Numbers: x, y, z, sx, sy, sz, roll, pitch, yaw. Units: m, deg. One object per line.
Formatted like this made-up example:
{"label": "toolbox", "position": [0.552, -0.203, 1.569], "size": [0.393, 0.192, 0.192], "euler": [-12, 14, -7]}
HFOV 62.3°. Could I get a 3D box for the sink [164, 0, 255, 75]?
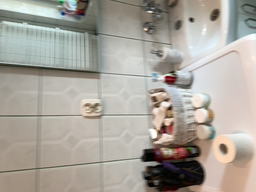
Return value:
{"label": "sink", "position": [0.410, -0.440, 1.120], "size": [0.380, 0.210, 0.550], "euler": [150, 118, -61]}
